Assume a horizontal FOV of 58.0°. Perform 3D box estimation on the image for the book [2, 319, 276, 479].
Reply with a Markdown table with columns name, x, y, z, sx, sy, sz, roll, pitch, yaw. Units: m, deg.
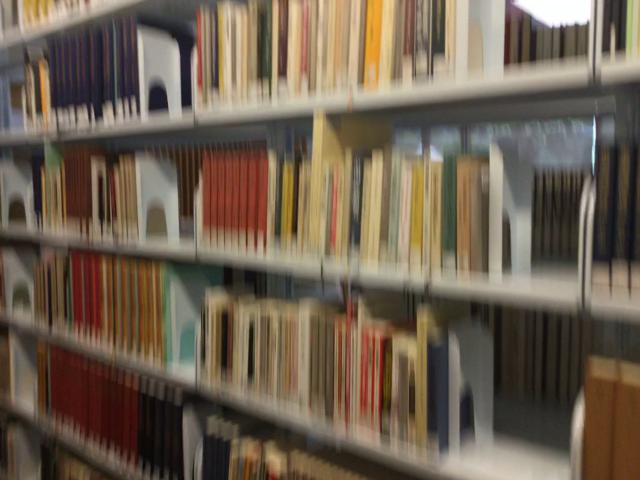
| name | x | y | z | sx | sy | sz | roll | pitch | yaw |
| --- | --- | --- | --- | --- | --- | --- | --- | --- | --- |
| book | -0.630 | 0.510 | 1.820 | 1.120 | 0.330 | 0.210 | 5 | 6 | 37 |

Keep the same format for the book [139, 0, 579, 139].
| name | x | y | z | sx | sy | sz | roll | pitch | yaw |
| --- | --- | --- | --- | --- | --- | --- | --- | --- | --- |
| book | -0.010 | -0.390 | 1.240 | 1.020 | 0.290 | 0.160 | 5 | 6 | 37 |

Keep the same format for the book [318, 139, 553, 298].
| name | x | y | z | sx | sy | sz | roll | pitch | yaw |
| --- | --- | --- | --- | --- | --- | --- | --- | --- | --- |
| book | 0.220 | -0.050 | 1.120 | 0.360 | 0.250 | 0.260 | 5 | 6 | 37 |

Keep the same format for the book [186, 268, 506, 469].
| name | x | y | z | sx | sy | sz | roll | pitch | yaw |
| --- | --- | --- | --- | --- | --- | --- | --- | --- | --- |
| book | 0.020 | 0.240 | 1.310 | 0.720 | 0.270 | 0.220 | 5 | 6 | 37 |

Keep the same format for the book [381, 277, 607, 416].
| name | x | y | z | sx | sy | sz | roll | pitch | yaw |
| --- | --- | --- | --- | --- | --- | --- | --- | --- | --- |
| book | 0.400 | 0.240 | 1.420 | 0.530 | 0.240 | 0.070 | 5 | 6 | 37 |

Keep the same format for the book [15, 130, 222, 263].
| name | x | y | z | sx | sy | sz | roll | pitch | yaw |
| --- | --- | --- | --- | --- | --- | --- | --- | --- | --- |
| book | -0.650 | -0.140 | 1.800 | 0.730 | 0.340 | 0.240 | 5 | 6 | 37 |

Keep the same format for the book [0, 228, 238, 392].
| name | x | y | z | sx | sy | sz | roll | pitch | yaw |
| --- | --- | --- | --- | --- | --- | --- | --- | --- | --- |
| book | -0.700 | 0.170 | 1.850 | 1.010 | 0.360 | 0.210 | 5 | 6 | 37 |

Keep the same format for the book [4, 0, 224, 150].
| name | x | y | z | sx | sy | sz | roll | pitch | yaw |
| --- | --- | --- | --- | --- | --- | --- | --- | --- | --- |
| book | -0.650 | -0.460 | 1.760 | 0.750 | 0.330 | 0.260 | 5 | 6 | 37 |
